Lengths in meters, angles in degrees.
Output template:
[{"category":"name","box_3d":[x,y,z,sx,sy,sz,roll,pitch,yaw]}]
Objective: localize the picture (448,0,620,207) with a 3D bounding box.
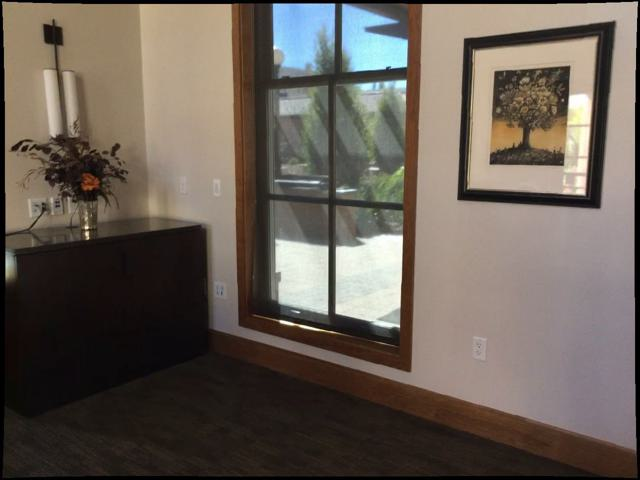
[{"category":"picture","box_3d":[0.899,-0.541,2.480,0.650,0.761,0.090,-1,7,37]}]

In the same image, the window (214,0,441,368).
[{"category":"window","box_3d":[0.020,-0.360,3.240,1.259,1.942,0.240,3,11,37]}]
